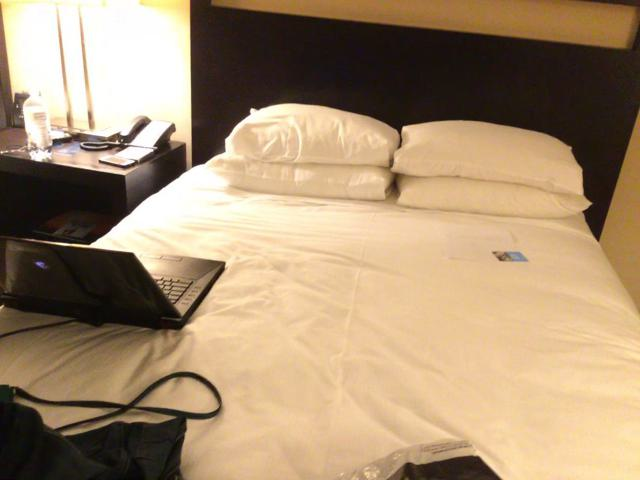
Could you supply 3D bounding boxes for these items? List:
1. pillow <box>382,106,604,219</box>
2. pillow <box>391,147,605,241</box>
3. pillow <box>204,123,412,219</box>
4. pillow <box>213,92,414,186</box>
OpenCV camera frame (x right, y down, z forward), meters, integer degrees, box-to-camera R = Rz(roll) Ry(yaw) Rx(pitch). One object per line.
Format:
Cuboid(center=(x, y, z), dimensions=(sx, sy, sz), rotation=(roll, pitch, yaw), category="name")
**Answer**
Cuboid(center=(0.560, -0.280, 1.940), dimensions=(0.620, 0.200, 0.390), rotation=(11, 23, 12), category="pillow")
Cuboid(center=(0.560, -0.160, 1.880), dimensions=(0.610, 0.150, 0.230), rotation=(11, 23, 12), category="pillow")
Cuboid(center=(-0.030, -0.270, 2.100), dimensions=(0.660, 0.160, 0.390), rotation=(11, 23, 12), category="pillow")
Cuboid(center=(-0.010, -0.380, 2.080), dimensions=(0.630, 0.180, 0.380), rotation=(11, 23, 12), category="pillow")
